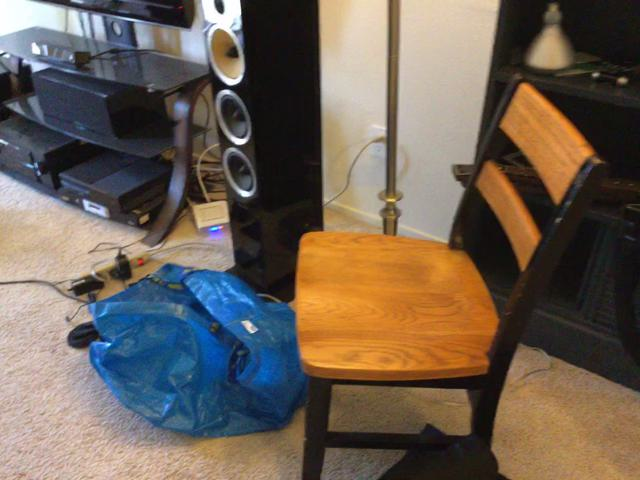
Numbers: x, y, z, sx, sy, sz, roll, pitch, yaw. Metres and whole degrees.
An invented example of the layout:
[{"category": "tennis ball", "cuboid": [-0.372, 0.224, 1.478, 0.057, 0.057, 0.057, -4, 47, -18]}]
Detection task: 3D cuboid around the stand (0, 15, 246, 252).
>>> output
[{"category": "stand", "cuboid": [-0.950, -0.500, 2.370, 1.230, 0.640, 0.480, 18, 32, 26]}]
